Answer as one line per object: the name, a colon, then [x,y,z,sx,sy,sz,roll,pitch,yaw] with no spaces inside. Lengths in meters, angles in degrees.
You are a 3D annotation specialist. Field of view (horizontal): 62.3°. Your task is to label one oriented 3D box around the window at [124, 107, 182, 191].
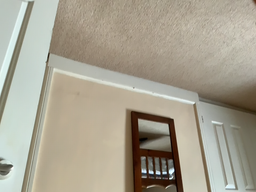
window: [0.180,0.840,1.270,0.430,1.600,0.020,12,150,-24]
